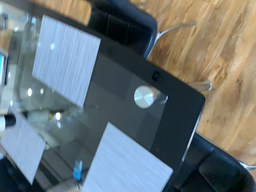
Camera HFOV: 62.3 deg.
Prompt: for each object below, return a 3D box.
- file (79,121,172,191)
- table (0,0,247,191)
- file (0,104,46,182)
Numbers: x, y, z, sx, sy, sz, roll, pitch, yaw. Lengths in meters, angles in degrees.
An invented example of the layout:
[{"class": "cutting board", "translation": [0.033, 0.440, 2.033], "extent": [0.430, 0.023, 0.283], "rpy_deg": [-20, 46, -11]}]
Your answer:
[{"class": "file", "translation": [-0.030, 0.280, 0.700], "extent": [0.250, 0.020, 0.310], "rpy_deg": [33, 112, 26]}, {"class": "table", "translation": [-0.190, 0.040, 1.250], "extent": [1.250, 0.720, 0.860], "rpy_deg": [33, 112, 26]}, {"class": "file", "translation": [-0.520, 0.220, 1.020], "extent": [0.310, 0.020, 0.230], "rpy_deg": [36, 113, 25]}]
